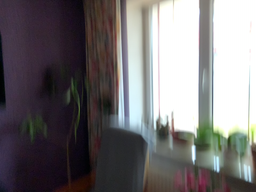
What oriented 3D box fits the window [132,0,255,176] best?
[{"bbox_3d":[0.610,-0.420,1.880,0.300,1.870,1.330,-6,7,-41],"label":"window"}]
